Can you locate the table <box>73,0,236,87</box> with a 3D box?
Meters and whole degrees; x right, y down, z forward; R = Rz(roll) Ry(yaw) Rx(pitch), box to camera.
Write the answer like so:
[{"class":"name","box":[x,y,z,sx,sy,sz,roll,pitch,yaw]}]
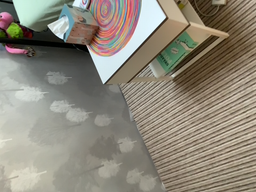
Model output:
[{"class":"table","box":[0.120,-0.370,1.060,0.460,0.510,0.460,-35,71,41]}]
